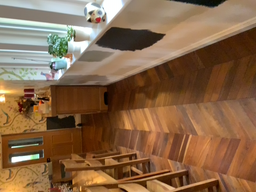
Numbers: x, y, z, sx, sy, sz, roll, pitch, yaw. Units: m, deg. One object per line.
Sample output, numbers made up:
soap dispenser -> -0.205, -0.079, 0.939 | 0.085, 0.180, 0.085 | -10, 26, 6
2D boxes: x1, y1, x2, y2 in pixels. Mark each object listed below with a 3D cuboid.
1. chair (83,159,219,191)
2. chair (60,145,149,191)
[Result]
chair -> 0.210, 0.930, 1.770 | 0.450, 1.050, 0.550 | -6, 86, 63
chair -> -0.300, 1.060, 2.790 | 0.450, 1.050, 0.610 | -6, 86, 63
